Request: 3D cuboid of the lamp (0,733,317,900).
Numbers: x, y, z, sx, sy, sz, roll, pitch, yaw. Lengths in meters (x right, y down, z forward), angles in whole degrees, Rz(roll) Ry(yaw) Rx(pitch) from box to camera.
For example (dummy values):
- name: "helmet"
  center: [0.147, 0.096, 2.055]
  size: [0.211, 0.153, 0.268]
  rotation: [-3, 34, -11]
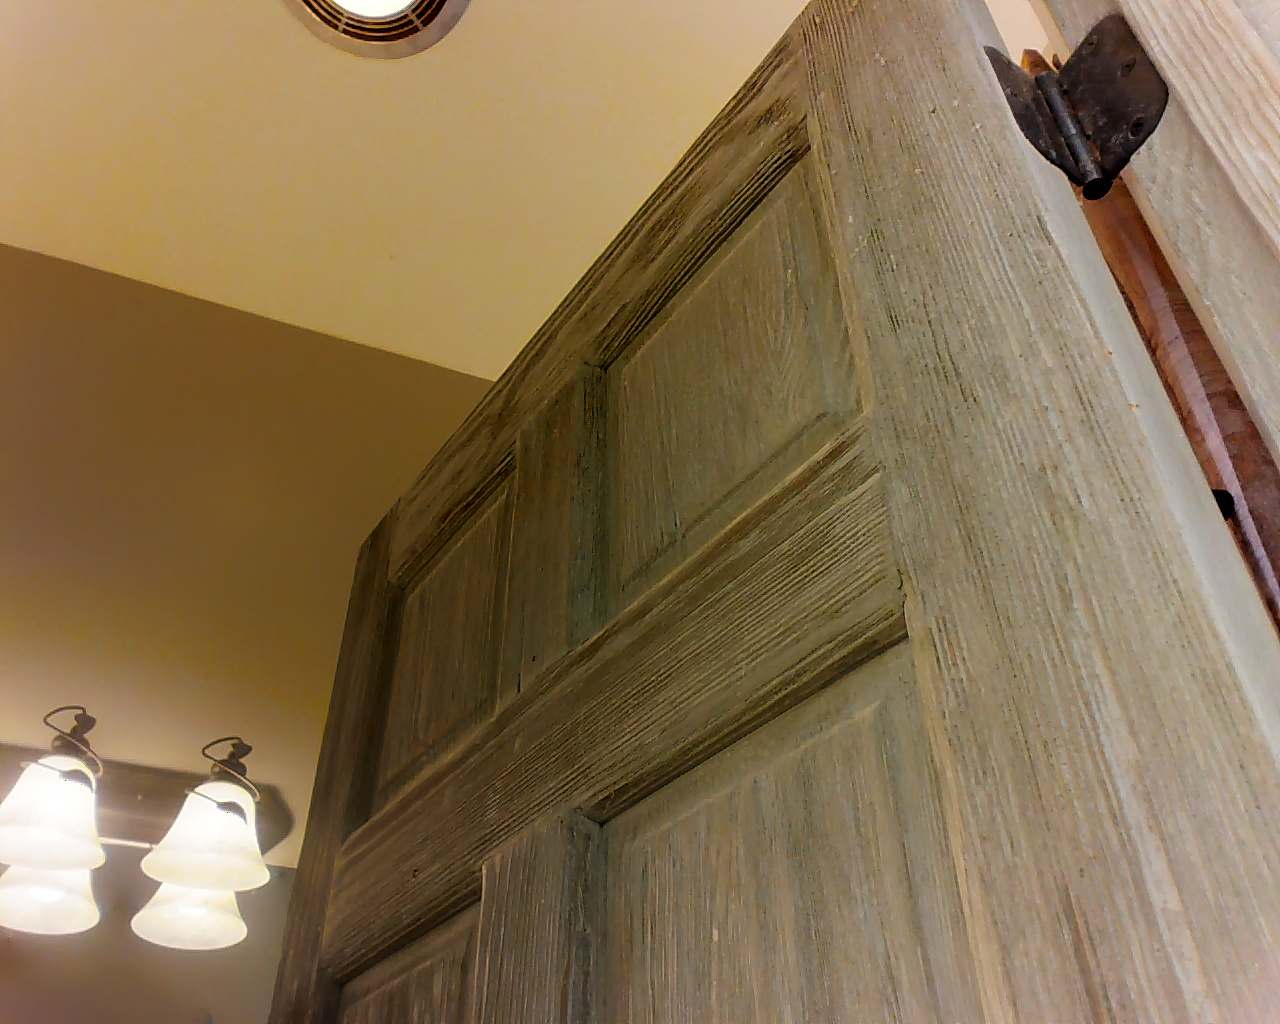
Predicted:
- name: "lamp"
  center: [-0.990, 0.420, 1.600]
  size: [0.960, 0.060, 0.170]
  rotation: [15, 48, -18]
